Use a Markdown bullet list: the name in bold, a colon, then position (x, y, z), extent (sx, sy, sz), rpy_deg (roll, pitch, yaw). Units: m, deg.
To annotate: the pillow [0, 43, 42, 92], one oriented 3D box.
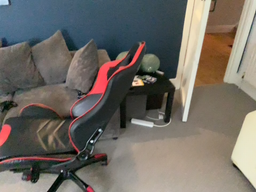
- **pillow**: position (-1.080, -0.270, 2.000), extent (0.430, 0.400, 0.160), rpy_deg (-10, 21, -20)
